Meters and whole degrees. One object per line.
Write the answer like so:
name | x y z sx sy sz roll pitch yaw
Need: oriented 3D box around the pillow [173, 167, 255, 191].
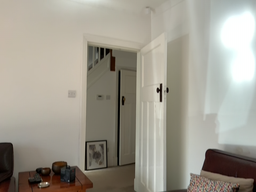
pillow | 0.580 0.690 1.420 0.250 0.340 0.460 5 -25 -31

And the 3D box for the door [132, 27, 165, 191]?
door | 0.230 0.290 2.650 0.050 2.020 0.900 1 -2 -17
